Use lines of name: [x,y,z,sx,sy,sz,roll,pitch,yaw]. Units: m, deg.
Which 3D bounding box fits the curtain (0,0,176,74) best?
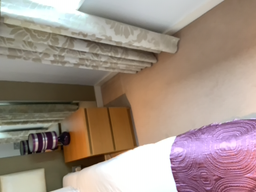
curtain: [-0.620,-0.360,1.240,0.550,2.120,0.110,-25,70,48]
